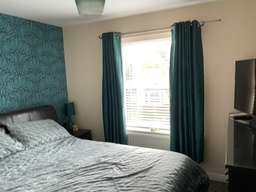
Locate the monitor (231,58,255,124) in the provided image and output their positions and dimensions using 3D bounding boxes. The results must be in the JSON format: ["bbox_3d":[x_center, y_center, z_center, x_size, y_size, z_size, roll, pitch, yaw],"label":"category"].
[{"bbox_3d":[1.210,-0.050,2.010,0.050,0.610,0.960,-2,7,4],"label":"monitor"}]
